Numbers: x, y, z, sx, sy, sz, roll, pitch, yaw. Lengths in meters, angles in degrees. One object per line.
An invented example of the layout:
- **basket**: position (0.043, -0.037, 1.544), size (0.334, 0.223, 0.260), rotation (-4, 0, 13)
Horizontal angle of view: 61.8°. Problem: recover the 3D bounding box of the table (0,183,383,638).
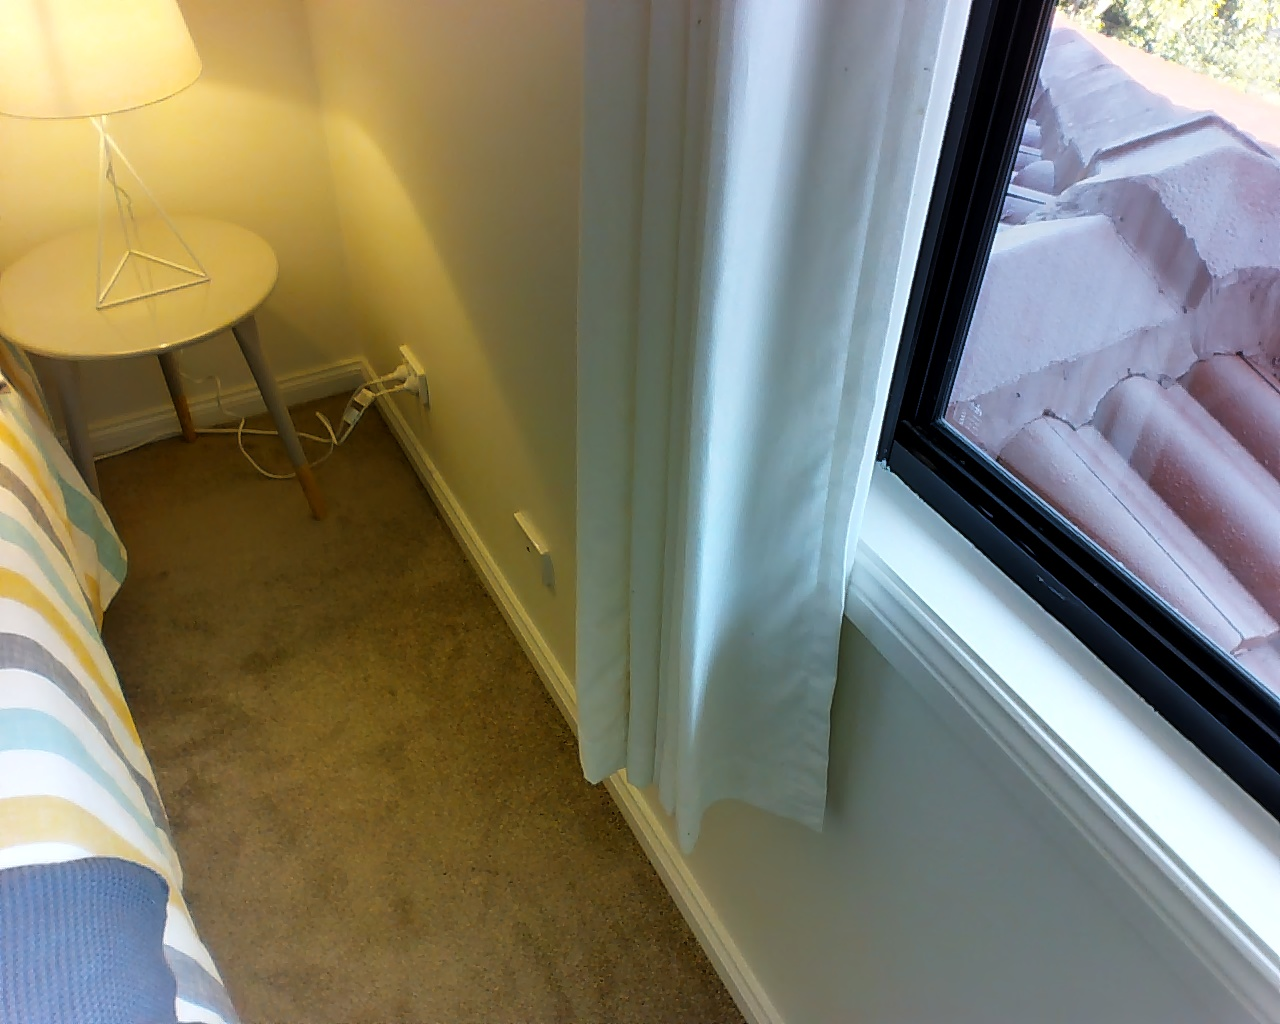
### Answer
- **table**: position (-0.890, -0.220, 2.100), size (0.530, 0.560, 0.560), rotation (-19, 46, -23)
